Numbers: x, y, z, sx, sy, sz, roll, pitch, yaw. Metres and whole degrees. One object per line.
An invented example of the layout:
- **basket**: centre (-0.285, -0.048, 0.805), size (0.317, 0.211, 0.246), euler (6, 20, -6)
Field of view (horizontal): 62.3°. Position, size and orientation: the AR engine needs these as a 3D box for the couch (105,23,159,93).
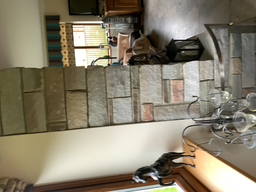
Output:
- **couch**: centre (0.010, -0.850, 4.640), size (1.030, 0.910, 1.140), euler (-108, 17, -51)
